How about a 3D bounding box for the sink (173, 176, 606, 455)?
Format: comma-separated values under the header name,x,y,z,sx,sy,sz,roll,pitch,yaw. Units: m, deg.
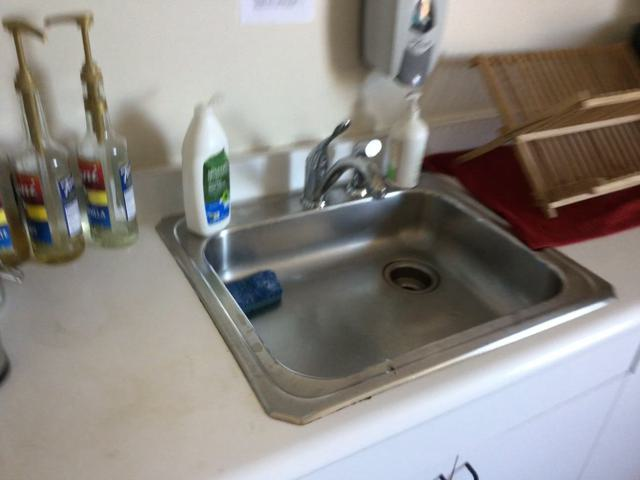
name,x,y,z,sx,sy,sz,roll,pitch,yaw
sink,0.120,0.080,1.140,0.680,0.140,0.460,-13,34,-26
